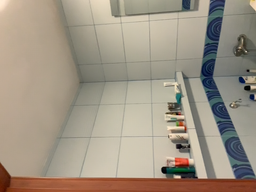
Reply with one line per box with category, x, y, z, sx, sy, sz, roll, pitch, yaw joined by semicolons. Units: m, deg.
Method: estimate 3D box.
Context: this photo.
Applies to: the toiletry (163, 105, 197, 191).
toiletry;0.350;0.370;1.520;0.850;0.130;0.100;-84;-10;-53
